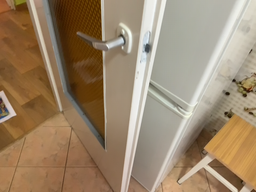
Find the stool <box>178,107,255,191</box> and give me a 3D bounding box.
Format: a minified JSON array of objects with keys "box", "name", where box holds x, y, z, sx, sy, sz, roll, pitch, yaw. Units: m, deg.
[{"box":[0.560,0.380,1.180,0.330,0.460,0.310,38,56,25],"name":"stool"}]
